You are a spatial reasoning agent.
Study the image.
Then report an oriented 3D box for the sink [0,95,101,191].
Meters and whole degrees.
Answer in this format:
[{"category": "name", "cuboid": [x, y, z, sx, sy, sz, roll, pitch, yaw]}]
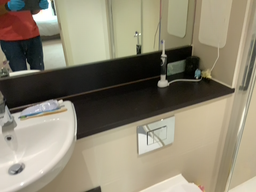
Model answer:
[{"category": "sink", "cuboid": [-0.440, 0.250, 0.810, 0.540, 0.220, 0.470, -14, 30, -21]}]
